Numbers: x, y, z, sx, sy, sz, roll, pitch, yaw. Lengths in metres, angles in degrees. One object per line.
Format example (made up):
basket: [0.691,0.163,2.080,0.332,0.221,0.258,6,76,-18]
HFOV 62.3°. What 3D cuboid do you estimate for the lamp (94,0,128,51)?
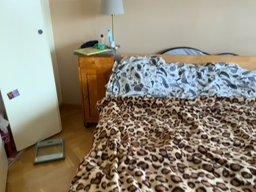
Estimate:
lamp: [-0.160,-0.740,2.110,0.270,0.510,0.260,5,26,8]
